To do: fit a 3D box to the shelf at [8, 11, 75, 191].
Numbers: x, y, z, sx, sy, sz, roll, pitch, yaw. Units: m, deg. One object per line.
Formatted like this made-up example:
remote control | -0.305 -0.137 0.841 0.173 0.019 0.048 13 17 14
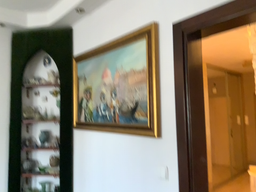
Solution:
shelf | -0.840 0.180 2.060 0.450 1.750 0.510 2 -5 -41
